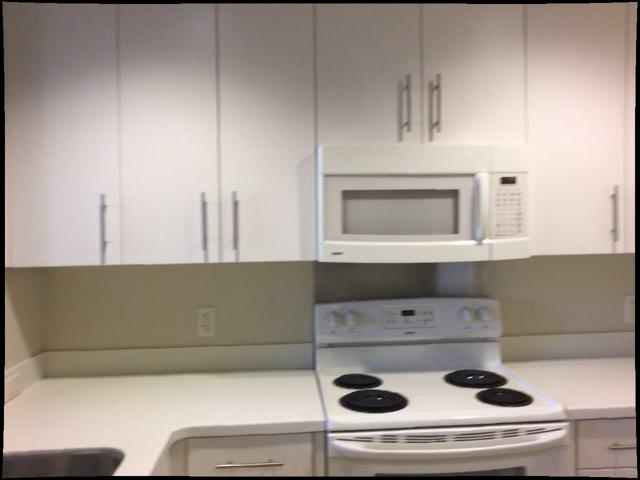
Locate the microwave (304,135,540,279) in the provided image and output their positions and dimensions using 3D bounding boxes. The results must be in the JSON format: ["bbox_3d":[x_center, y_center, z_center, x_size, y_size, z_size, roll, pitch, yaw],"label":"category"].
[{"bbox_3d":[0.359,-0.120,2.070,0.818,0.481,0.150,-2,3,-4],"label":"microwave"}]
